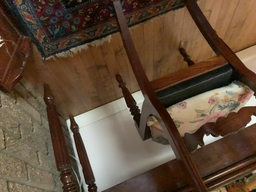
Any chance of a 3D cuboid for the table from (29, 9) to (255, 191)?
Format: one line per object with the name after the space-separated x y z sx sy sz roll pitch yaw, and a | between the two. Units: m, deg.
0.150 0.140 1.140 1.040 0.780 0.490 -21 151 -6 | table
